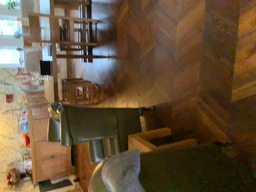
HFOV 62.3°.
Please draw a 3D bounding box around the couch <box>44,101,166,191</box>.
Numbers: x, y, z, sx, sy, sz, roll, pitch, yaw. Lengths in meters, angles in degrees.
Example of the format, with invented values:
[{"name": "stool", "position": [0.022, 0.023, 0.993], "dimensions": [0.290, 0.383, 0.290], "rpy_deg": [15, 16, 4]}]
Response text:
[{"name": "couch", "position": [-0.300, 0.520, 2.370], "dimensions": [0.870, 1.020, 0.770], "rpy_deg": [-14, 82, 60]}]
